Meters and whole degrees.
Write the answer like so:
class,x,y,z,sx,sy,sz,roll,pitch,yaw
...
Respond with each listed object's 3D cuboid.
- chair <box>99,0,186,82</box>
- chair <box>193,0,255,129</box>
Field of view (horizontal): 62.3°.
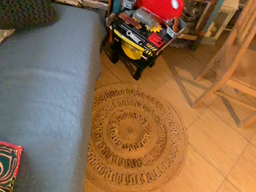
class,x,y,z,sx,sy,sz,roll,pitch,yaw
chair,0.100,-0.540,1.660,0.460,0.620,0.430,25,54,5
chair,0.870,-0.230,1.420,0.440,0.980,0.410,17,54,-1
